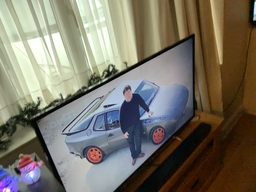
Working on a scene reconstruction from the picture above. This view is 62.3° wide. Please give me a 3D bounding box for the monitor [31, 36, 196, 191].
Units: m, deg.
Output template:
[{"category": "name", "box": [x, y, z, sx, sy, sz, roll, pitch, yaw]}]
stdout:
[{"category": "monitor", "box": [0.090, 0.120, 1.150, 0.020, 0.610, 1.040, 16, 37, 43]}]
